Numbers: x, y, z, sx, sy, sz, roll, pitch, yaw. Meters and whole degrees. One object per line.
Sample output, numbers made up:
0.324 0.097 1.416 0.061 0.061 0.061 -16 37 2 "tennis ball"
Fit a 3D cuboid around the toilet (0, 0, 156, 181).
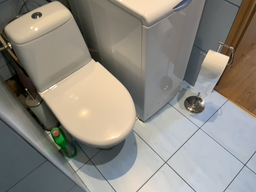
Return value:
-0.240 -0.010 1.150 0.370 0.770 0.650 -36 62 -20 "toilet"
